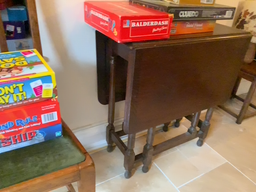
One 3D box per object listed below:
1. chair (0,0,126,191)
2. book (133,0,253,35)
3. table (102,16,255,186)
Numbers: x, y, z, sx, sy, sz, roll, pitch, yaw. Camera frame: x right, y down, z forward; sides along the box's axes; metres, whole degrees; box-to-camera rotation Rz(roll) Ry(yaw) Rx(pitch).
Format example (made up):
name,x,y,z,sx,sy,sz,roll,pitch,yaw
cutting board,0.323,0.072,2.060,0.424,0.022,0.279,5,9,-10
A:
name,x,y,z,sx,sy,sz,roll,pitch,yaw
chair,-0.370,0.080,0.670,0.460,0.930,0.530,-13,35,-29
book,0.300,-0.410,0.980,0.470,0.160,0.270,-13,35,-29
table,0.260,-0.020,1.170,0.690,0.720,0.370,-13,35,-29
